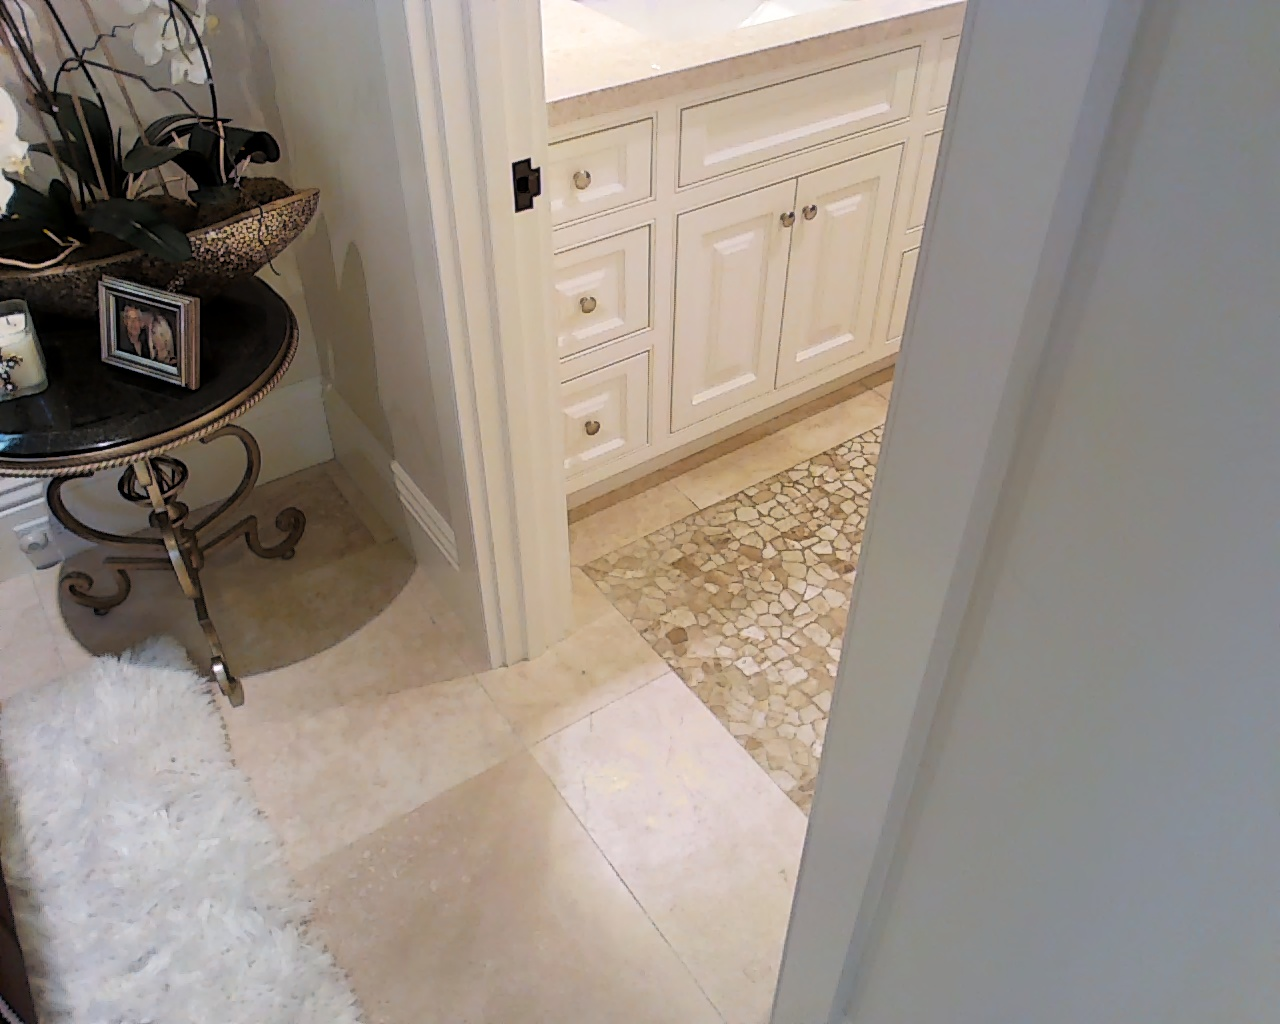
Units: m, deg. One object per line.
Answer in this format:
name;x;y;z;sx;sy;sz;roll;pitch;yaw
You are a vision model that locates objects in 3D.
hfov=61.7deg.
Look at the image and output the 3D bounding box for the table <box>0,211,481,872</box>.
table;-0.860;0.000;1.850;0.890;0.600;0.690;-24;47;-25
